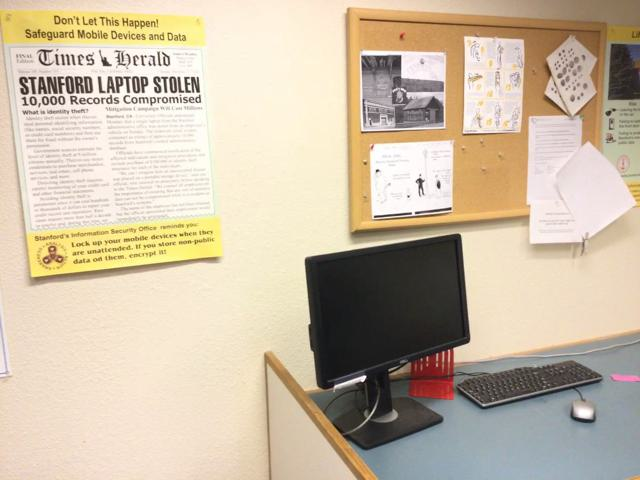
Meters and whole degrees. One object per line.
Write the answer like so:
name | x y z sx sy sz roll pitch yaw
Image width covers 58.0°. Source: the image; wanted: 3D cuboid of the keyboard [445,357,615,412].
keyboard | 0.620 0.420 1.710 0.460 0.030 0.180 -5 9 -18
